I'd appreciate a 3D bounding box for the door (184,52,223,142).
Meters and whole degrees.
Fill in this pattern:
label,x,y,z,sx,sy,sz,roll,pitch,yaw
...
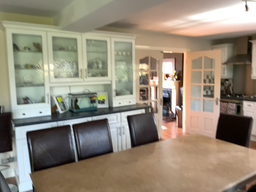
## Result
label,x,y,z,sx,sy,sz,roll,pitch,yaw
door,1.680,0.000,4.820,0.120,1.920,0.810,-8,10,-43

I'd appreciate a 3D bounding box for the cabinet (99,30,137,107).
label,x,y,z,sx,sy,sz,roll,pitch,yaw
cabinet,-0.170,-0.480,3.770,0.550,1.260,0.320,-6,9,-34

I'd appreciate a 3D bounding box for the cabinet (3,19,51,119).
label,x,y,z,sx,sy,sz,roll,pitch,yaw
cabinet,-1.400,-0.360,2.960,0.490,1.260,0.290,-6,9,-34

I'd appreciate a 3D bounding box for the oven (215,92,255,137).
label,x,y,z,sx,sy,sz,roll,pitch,yaw
oven,2.600,0.400,5.110,0.670,0.900,0.610,-6,9,-33

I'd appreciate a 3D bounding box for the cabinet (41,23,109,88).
label,x,y,z,sx,sy,sz,roll,pitch,yaw
cabinet,-0.800,-0.610,3.330,0.960,0.880,0.310,-6,9,-34

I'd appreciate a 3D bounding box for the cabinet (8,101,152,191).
label,x,y,z,sx,sy,sz,roll,pitch,yaw
cabinet,-0.630,0.660,3.420,2.160,0.900,0.600,-6,9,-34
